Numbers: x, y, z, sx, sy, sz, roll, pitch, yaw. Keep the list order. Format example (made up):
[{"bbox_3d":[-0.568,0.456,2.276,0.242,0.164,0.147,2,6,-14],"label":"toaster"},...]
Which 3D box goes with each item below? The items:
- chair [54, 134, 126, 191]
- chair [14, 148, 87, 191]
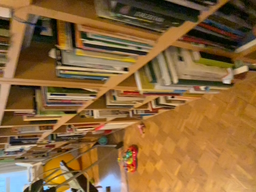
[{"bbox_3d":[-0.450,0.920,2.380,0.720,0.540,0.920,-14,77,56],"label":"chair"},{"bbox_3d":[-1.170,1.140,3.150,0.580,0.880,0.540,-35,60,51],"label":"chair"}]
